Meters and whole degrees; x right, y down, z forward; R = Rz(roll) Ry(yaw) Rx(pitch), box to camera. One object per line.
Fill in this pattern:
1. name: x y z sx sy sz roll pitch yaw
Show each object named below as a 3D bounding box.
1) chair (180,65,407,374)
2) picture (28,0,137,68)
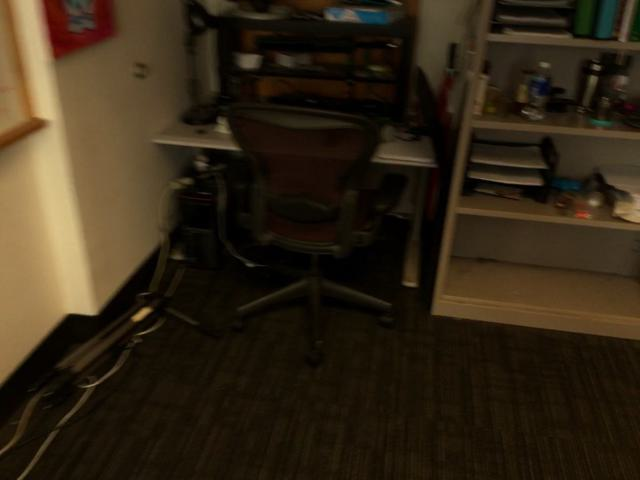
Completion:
1. chair: -0.030 -0.110 2.200 0.650 0.960 0.650 3 28 10
2. picture: -0.750 -0.850 1.780 0.080 0.540 0.440 3 28 10
